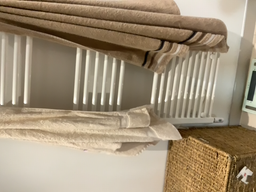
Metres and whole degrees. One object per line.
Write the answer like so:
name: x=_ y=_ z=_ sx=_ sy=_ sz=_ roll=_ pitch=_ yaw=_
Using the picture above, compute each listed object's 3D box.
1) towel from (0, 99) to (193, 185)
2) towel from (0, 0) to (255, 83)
towel: x=-0.170 y=0.160 z=0.900 sx=0.190 sy=0.950 sz=0.250 roll=22 pitch=108 yaw=62
towel: x=0.040 y=-0.290 z=0.900 sx=0.190 sy=1.280 sz=0.380 roll=19 pitch=105 yaw=62
